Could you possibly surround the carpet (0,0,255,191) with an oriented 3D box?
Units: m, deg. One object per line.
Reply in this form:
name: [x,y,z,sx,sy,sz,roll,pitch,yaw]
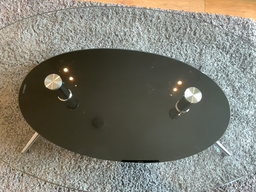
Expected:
carpet: [-0.090,-0.010,1.100,1.780,0.060,1.250,7,73,0]
